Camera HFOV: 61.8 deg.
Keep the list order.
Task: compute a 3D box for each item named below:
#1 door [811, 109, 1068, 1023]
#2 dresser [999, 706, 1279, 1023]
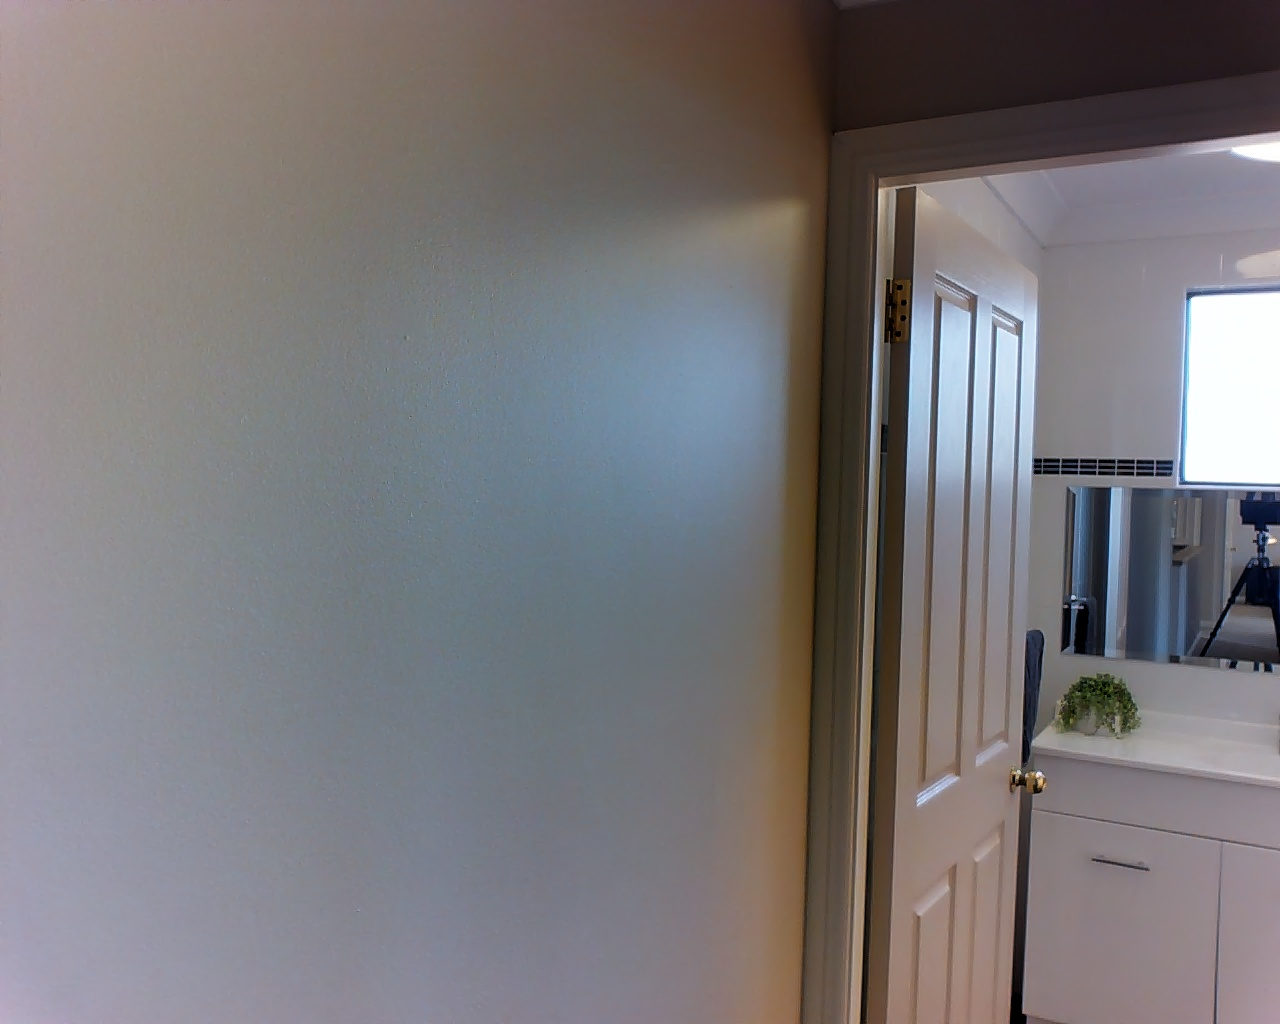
[{"bbox_3d":[0.620,0.430,2.110,0.210,2.091,0.960,3,1,29],"label":"door"},{"bbox_3d":[1.630,1.060,2.710,1.270,0.900,0.470,3,1,31],"label":"dresser"}]
